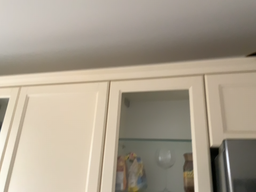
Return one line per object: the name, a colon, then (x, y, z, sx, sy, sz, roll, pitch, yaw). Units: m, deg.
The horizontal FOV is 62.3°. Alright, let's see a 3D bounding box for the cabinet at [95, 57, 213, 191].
cabinet: (0.150, 0.310, 1.120, 0.500, 0.930, 0.350, -2, -21, 15)
